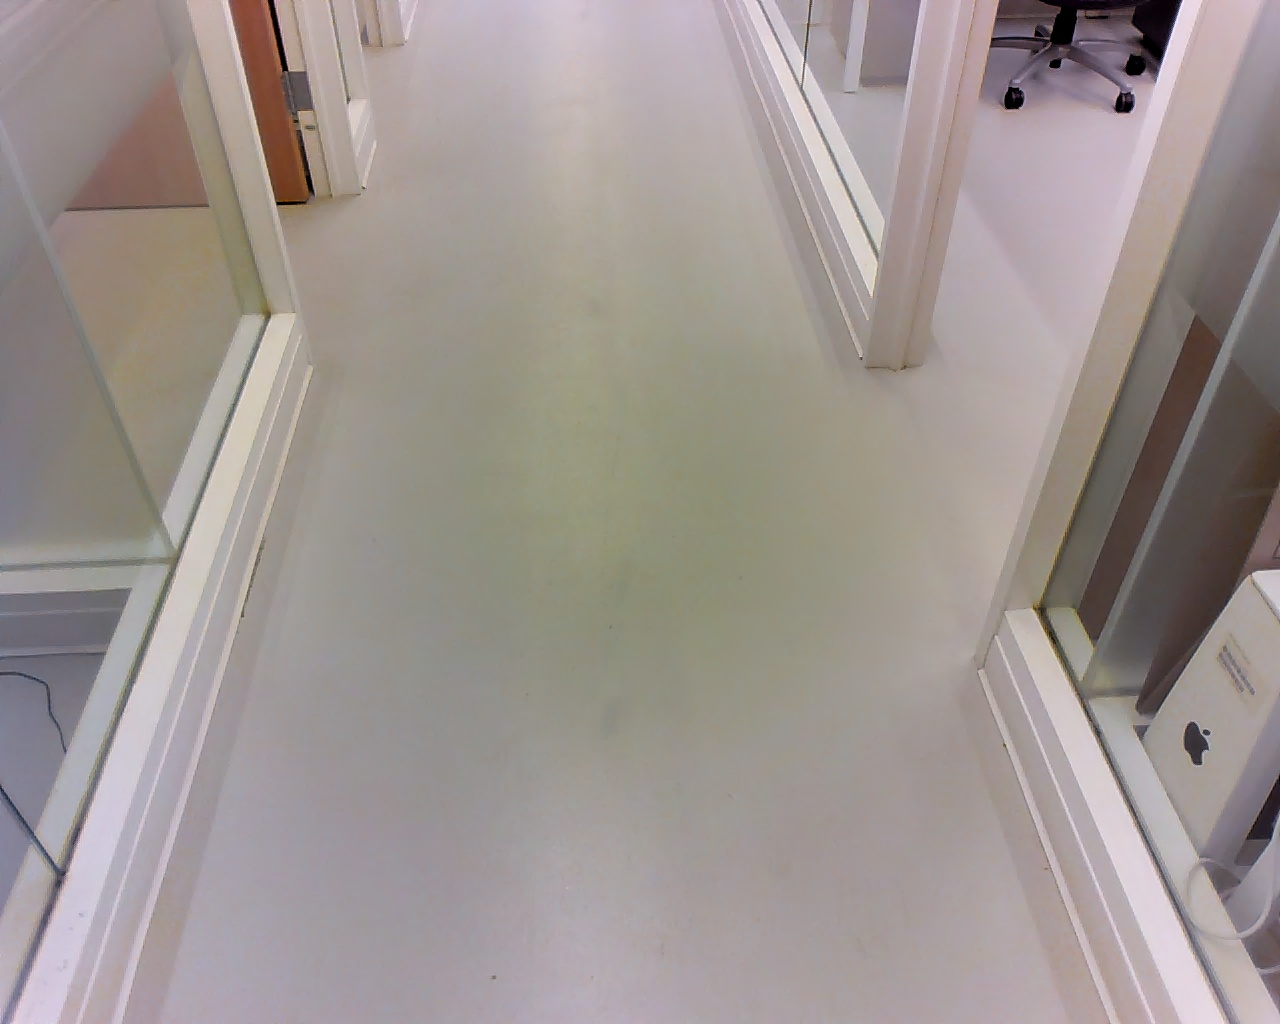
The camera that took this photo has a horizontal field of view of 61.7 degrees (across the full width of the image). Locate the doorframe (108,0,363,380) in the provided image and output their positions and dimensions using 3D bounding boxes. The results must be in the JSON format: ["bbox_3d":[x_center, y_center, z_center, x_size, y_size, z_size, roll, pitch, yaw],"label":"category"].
[{"bbox_3d":[-0.930,-1.480,2.200,0.190,2.220,1.000,-3,42,-2],"label":"doorframe"}]
